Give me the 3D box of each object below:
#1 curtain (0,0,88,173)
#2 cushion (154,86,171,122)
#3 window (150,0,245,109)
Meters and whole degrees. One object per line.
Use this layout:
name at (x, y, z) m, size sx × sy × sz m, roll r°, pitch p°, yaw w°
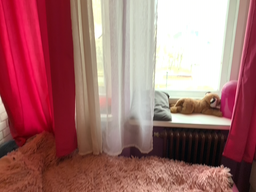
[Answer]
curtain at (-0.700, -0.910, 1.330) m, size 0.670 × 3.040 × 0.240 m, roll 3°, pitch 17°, yaw 8°
cushion at (0.300, 0.060, 1.860) m, size 0.120 × 0.210 × 0.350 m, roll 3°, pitch 17°, yaw 8°
window at (0.570, -0.960, 1.770) m, size 0.690 × 2.090 × 0.380 m, roll 3°, pitch 17°, yaw 9°
